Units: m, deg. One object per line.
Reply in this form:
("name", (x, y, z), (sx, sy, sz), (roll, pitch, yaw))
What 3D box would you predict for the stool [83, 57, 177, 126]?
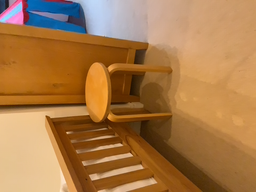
("stool", (0.000, -0.030, 1.350), (0.380, 0.470, 0.350), (2, 93, 61))
